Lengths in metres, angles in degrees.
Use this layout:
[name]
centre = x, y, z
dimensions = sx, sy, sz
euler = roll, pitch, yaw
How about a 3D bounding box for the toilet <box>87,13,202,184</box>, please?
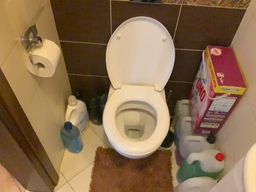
[toilet]
centre = 0.050, 0.070, 1.180
dimensions = 0.380, 0.810, 0.530
euler = 5, 50, 0
